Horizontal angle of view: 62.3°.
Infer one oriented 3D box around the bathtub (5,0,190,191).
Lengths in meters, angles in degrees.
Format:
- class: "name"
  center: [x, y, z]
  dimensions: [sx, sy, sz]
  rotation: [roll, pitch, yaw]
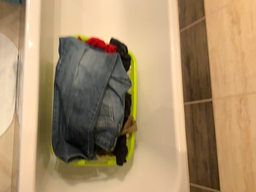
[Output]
- class: "bathtub"
  center: [-0.200, -0.190, 1.110]
  dimensions: [0.700, 0.610, 1.650]
  rotation: [3, 80, -31]
